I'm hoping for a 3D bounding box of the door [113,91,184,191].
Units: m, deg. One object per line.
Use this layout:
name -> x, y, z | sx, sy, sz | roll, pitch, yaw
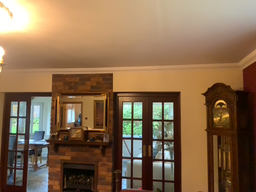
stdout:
door -> 0.350, 0.970, 3.660 | 1.160, 2.080, 0.240 | 1, -4, 11
